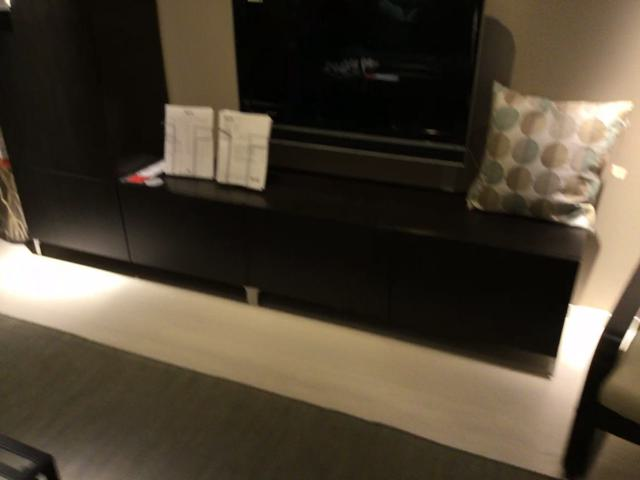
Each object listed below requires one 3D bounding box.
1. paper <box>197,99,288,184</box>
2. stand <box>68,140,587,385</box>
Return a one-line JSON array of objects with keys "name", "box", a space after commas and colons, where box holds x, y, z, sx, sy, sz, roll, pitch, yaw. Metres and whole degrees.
[{"name": "paper", "box": [-0.300, -0.390, 2.310, 0.260, 0.300, 0.130, 10, 54, 19]}, {"name": "stand", "box": [-0.030, 0.000, 2.360, 1.970, 0.490, 0.500, 10, 27, 19]}]
